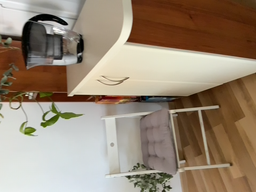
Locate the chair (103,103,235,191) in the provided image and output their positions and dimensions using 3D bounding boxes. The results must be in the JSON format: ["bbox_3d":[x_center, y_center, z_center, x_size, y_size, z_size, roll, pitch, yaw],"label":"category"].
[{"bbox_3d":[0.270,0.340,1.580,0.540,0.740,0.480,-26,67,60],"label":"chair"}]
